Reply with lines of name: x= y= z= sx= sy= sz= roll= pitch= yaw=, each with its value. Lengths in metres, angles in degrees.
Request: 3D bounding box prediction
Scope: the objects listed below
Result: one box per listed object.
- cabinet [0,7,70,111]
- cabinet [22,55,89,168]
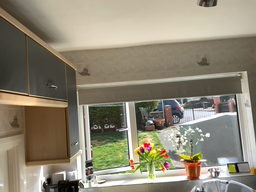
cabinet: x=-0.650 y=-0.130 z=1.020 sx=0.360 sy=0.370 sz=1.170 roll=-5 pitch=-4 yaw=2
cabinet: x=-0.600 y=0.130 z=1.860 sx=0.340 sy=0.820 sz=0.550 roll=-5 pitch=-4 yaw=2
